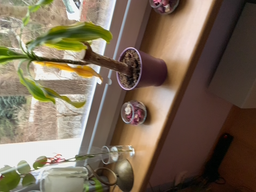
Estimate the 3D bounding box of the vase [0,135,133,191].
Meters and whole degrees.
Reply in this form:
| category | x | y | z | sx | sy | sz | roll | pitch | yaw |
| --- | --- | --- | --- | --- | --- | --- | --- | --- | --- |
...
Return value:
| category | x | y | z | sx | sy | sz | roll | pitch | yaw |
| --- | --- | --- | --- | --- | --- | --- | --- | --- | --- |
| vase | -0.290 | 0.350 | 0.920 | 0.180 | 0.580 | 0.250 | 37 | 118 | 48 |

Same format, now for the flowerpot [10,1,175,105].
| category | x | y | z | sx | sy | sz | roll | pitch | yaw |
| --- | --- | --- | --- | --- | --- | --- | --- | --- | --- |
| flowerpot | -0.120 | -0.130 | 0.740 | 0.250 | 0.470 | 0.230 | 39 | 119 | 47 |
